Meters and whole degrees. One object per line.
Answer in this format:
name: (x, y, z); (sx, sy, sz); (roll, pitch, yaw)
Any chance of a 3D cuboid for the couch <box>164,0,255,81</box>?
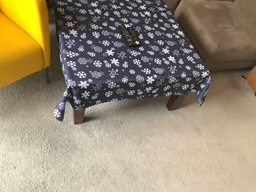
couch: (1.080, -0.780, 2.030); (0.940, 1.020, 0.720); (-5, 56, -21)
